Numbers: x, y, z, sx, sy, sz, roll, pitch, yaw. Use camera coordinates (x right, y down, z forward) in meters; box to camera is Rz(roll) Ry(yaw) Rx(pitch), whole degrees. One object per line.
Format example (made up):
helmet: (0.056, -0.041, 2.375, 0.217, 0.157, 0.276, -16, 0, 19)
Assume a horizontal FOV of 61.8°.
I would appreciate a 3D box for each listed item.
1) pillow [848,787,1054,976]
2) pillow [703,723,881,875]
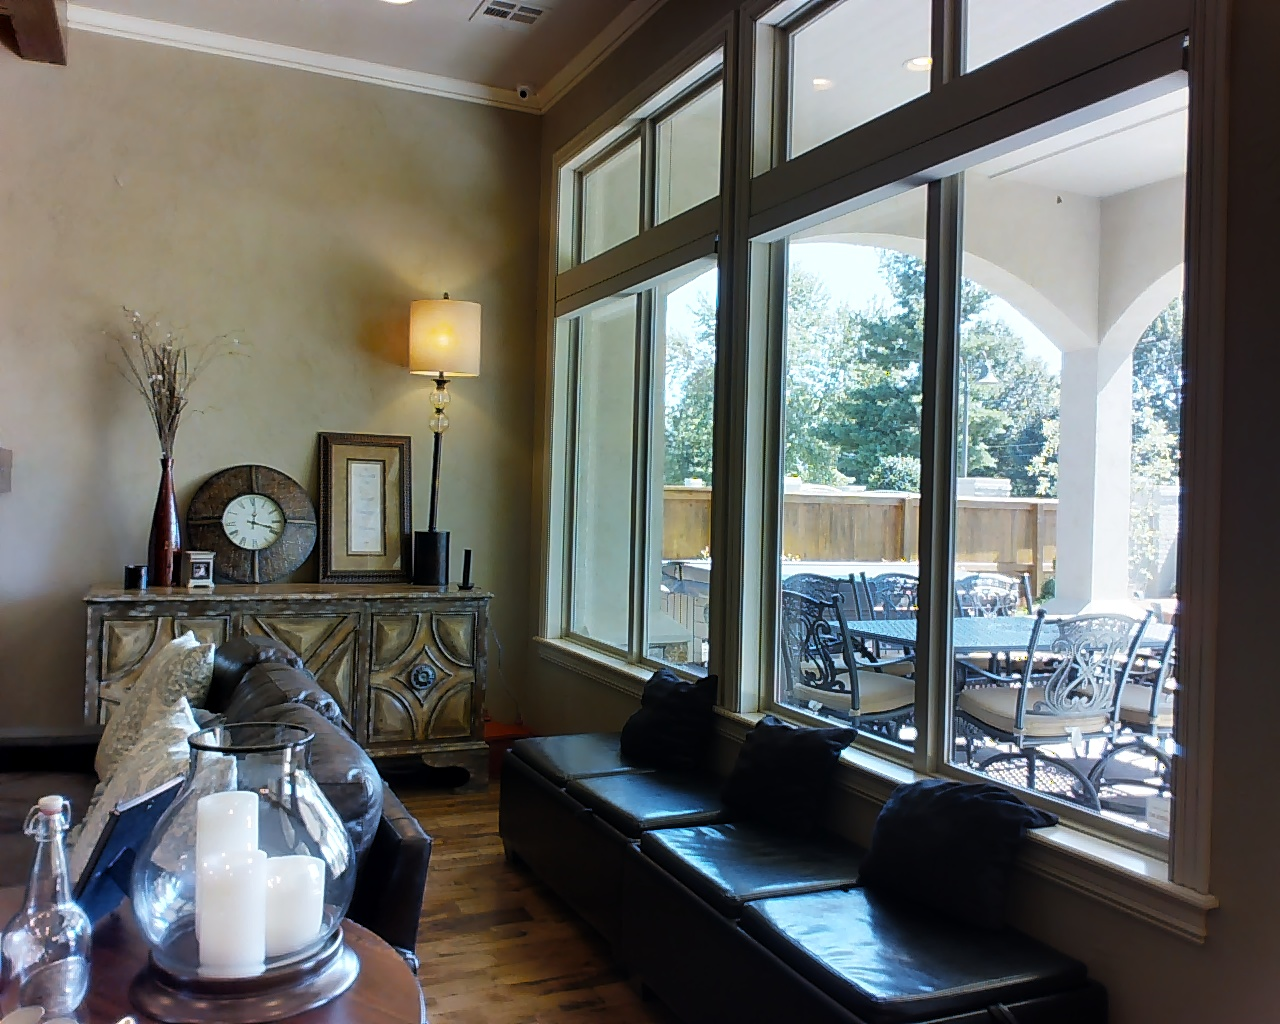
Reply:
pillow: (0.760, 0.900, 2.670, 0.230, 0.290, 0.480, 2, 0, -24)
pillow: (0.470, 0.890, 3.390, 0.340, 0.330, 0.490, 2, 0, -25)
